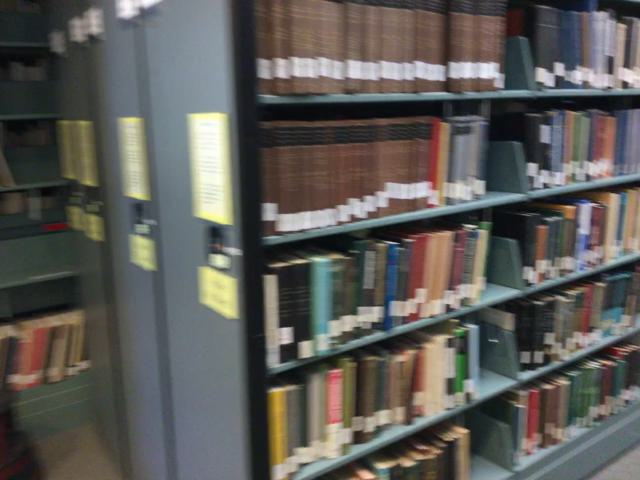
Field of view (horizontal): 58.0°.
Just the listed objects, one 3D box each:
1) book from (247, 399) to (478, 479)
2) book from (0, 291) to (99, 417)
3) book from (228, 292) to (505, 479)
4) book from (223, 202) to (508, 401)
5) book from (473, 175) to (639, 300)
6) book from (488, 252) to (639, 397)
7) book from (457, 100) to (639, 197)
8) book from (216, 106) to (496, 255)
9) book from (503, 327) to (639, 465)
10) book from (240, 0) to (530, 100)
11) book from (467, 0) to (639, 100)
[{"bbox_3d":[0.150,0.710,1.640,0.690,0.280,0.160,-10,12,-32],"label":"book"},{"bbox_3d":[-1.470,0.540,2.700,0.700,0.390,0.450,-10,12,-32],"label":"book"},{"bbox_3d":[0.170,0.400,1.640,0.820,0.320,0.200,-10,12,-32],"label":"book"},{"bbox_3d":[0.160,0.120,1.560,0.790,0.350,0.210,-10,12,-32],"label":"book"},{"bbox_3d":[0.930,-0.040,2.050,0.880,0.300,0.210,-10,12,-32],"label":"book"},{"bbox_3d":[0.950,0.270,2.070,0.870,0.310,0.130,-10,12,-32],"label":"book"},{"bbox_3d":[0.900,-0.340,2.030,0.890,0.270,0.280,-10,12,-32],"label":"book"},{"bbox_3d":[0.130,-0.180,1.490,0.750,0.300,0.180,-10,12,-32],"label":"book"},{"bbox_3d":[1.010,0.550,2.150,0.840,0.250,0.120,-10,12,-32],"label":"book"},{"bbox_3d":[0.210,-0.490,1.400,0.850,0.280,0.060,-10,12,-32],"label":"book"},{"bbox_3d":[0.900,-0.660,1.940,0.890,0.340,0.250,-10,12,-32],"label":"book"}]
